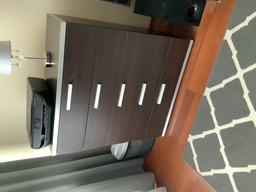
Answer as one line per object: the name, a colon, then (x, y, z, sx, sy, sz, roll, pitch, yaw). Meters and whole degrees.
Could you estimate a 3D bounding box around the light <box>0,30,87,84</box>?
light: (-0.630, -0.260, 1.430, 0.290, 0.610, 0.260, 43, 127, 50)
